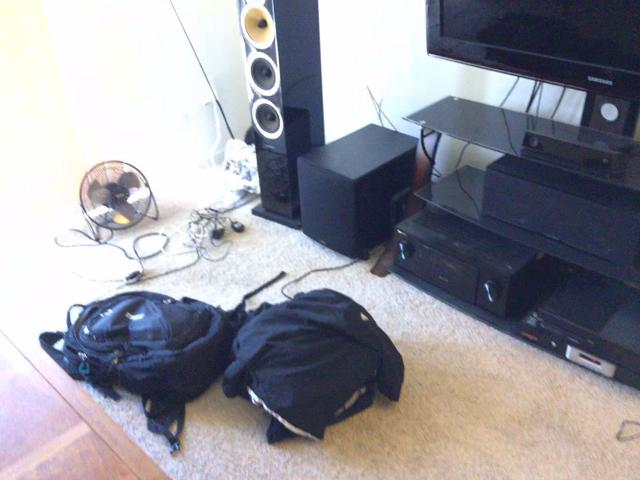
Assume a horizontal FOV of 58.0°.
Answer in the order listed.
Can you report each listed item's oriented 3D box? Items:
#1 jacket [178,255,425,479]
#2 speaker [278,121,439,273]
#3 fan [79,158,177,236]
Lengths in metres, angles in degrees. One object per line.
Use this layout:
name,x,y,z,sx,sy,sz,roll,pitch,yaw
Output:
jacket,-0.050,0.310,1.620,0.460,0.250,0.490,-25,34,-37
speaker,0.150,-0.190,2.240,0.440,0.390,0.410,-25,34,-37
fan,-0.810,-0.190,2.450,0.280,0.200,0.260,-24,34,-37
